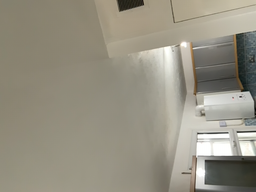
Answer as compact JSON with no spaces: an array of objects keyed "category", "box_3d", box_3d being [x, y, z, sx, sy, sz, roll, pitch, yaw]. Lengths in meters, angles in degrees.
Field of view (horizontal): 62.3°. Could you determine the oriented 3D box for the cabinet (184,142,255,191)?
[{"category":"cabinet","box_3d":[1.060,0.810,2.120,0.710,0.880,0.340,-50,-49,-61]}]
